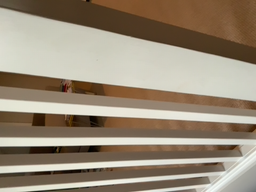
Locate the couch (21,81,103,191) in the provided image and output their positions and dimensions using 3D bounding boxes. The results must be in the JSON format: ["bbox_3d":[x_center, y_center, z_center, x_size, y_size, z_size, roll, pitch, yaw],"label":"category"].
[{"bbox_3d":[-1.040,0.820,2.990,0.900,0.760,1.820,-113,37,-45],"label":"couch"}]
